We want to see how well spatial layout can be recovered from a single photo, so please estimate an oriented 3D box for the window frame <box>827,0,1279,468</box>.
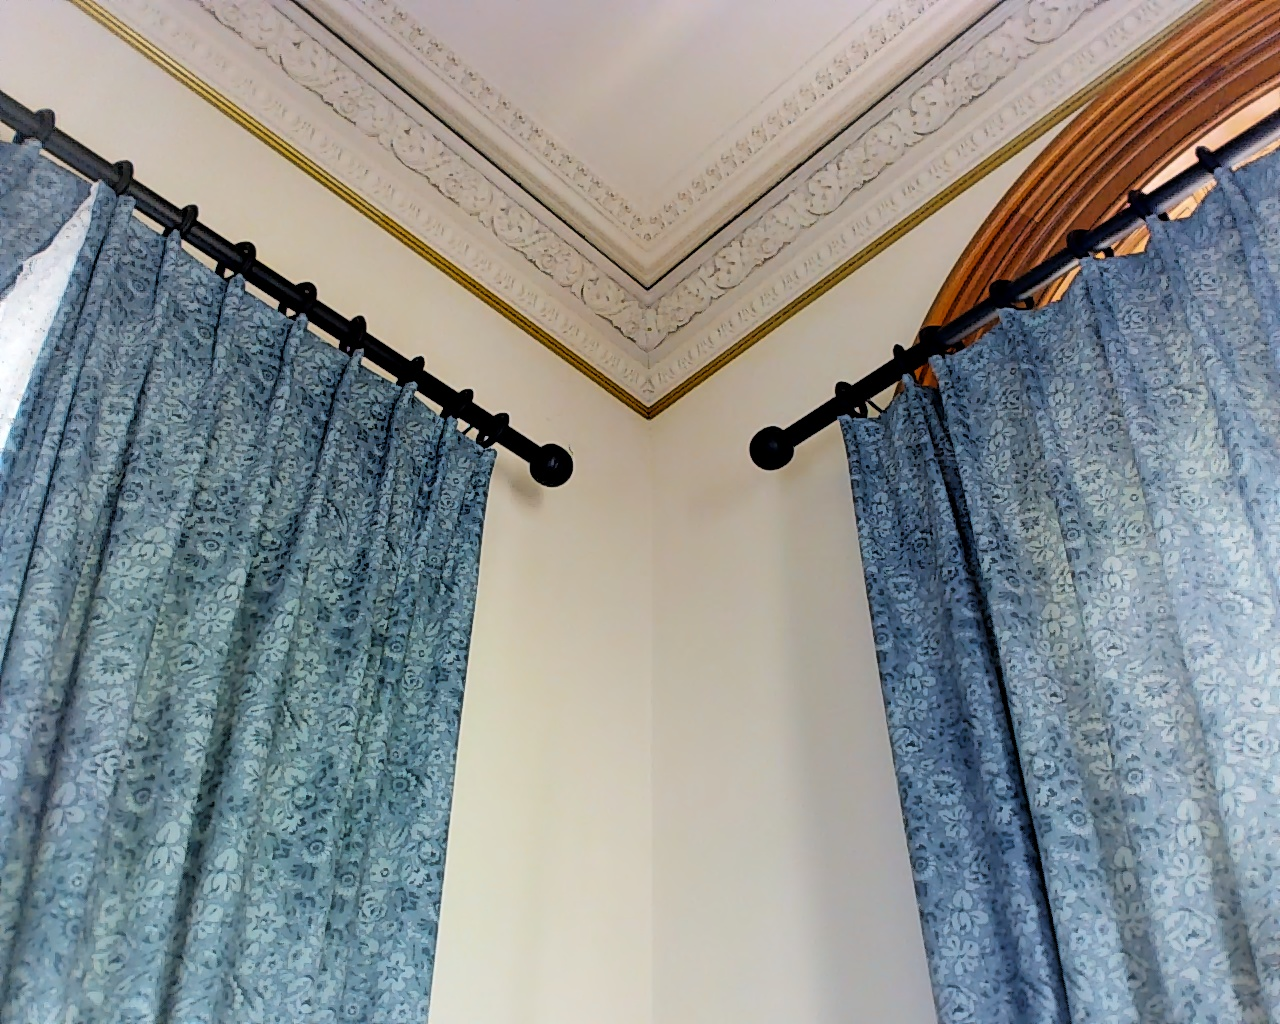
[{"bbox_3d":[1.240,-0.890,2.280,0.170,0.710,1.940,31,-51,-30],"label":"window frame"}]
